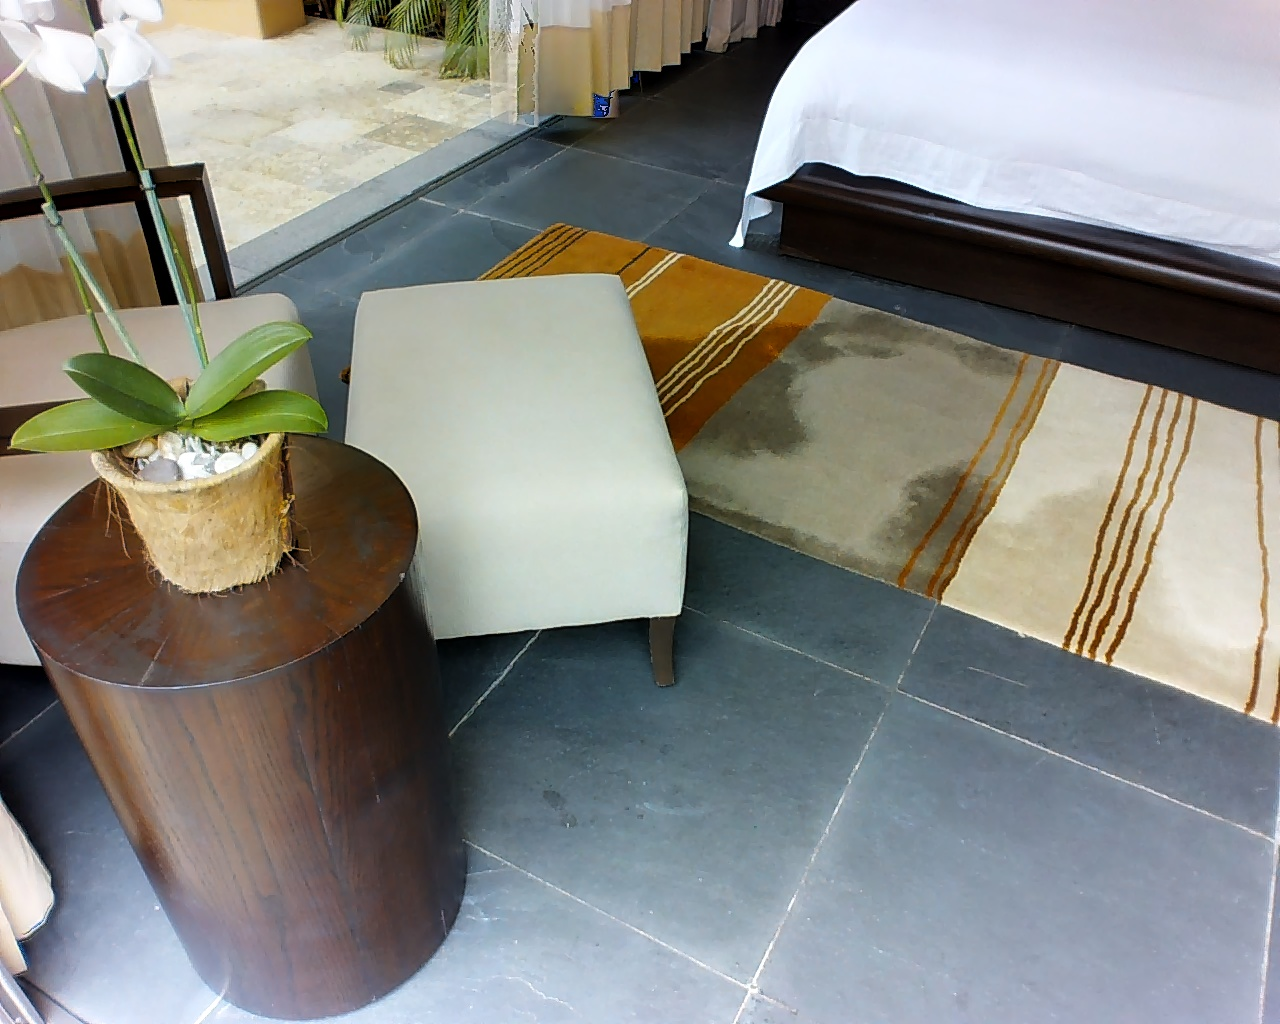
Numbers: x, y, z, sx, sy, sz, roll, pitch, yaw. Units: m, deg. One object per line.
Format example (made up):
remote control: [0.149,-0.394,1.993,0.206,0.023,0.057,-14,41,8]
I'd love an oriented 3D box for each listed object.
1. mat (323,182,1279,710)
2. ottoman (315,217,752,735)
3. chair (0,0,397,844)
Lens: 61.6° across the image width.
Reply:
mat: [1.410,0.060,2.090,4.399,0.060,1.010,21,44,21]
ottoman: [-0.200,-0.110,1.910,0.590,0.470,0.820,-5,41,-7]
chair: [-0.960,-0.160,1.630,1.000,0.890,0.930,-8,42,-11]
